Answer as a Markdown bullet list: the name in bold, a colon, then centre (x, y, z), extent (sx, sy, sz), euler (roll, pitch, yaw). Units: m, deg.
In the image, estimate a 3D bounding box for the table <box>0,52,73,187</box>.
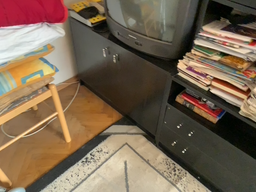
- **table**: centre (-0.650, 0.110, 1.180), extent (0.440, 0.440, 0.420), euler (33, 52, 29)
